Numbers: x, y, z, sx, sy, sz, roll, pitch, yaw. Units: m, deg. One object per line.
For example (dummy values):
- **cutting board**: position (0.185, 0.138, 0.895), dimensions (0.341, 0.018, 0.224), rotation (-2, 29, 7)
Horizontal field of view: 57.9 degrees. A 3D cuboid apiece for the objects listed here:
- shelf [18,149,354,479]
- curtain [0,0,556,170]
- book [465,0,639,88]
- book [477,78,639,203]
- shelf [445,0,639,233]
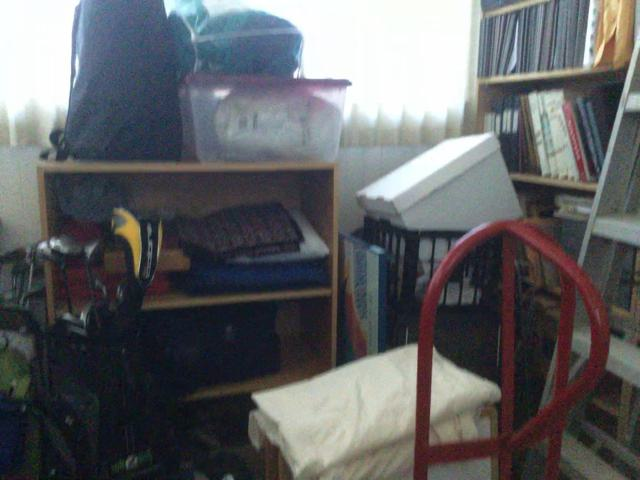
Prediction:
- **shelf**: position (-0.420, 0.260, 1.980), dimensions (0.940, 1.100, 0.480), rotation (-3, 12, -19)
- **curtain**: position (-0.450, -1.110, 1.910), dimensions (2.780, 1.700, 0.330), rotation (-3, 12, -19)
- **book**: position (0.800, -0.780, 1.930), dimensions (0.180, 0.480, 0.810), rotation (-3, 12, -19)
- **book**: position (0.890, -0.360, 2.050), dimensions (0.290, 0.360, 0.680), rotation (-3, 12, -19)
- **shelf**: position (0.870, -0.810, 1.930), dimensions (0.350, 1.400, 1.000), rotation (-3, 12, -19)
